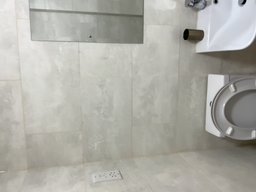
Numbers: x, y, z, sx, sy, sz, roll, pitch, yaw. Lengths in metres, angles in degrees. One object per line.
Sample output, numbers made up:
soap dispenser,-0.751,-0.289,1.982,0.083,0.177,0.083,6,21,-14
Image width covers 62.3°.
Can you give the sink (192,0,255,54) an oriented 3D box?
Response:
sink,0.570,-0.520,1.100,0.420,0.250,0.570,-149,58,-73
